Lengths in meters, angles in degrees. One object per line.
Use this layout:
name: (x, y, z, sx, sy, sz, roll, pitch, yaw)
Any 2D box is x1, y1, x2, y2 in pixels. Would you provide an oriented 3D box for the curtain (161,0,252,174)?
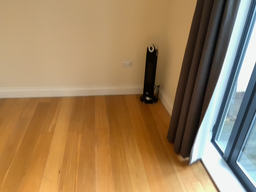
curtain: (0.600, -0.450, 1.650, 0.250, 2.430, 0.480, -1, 29, -8)
